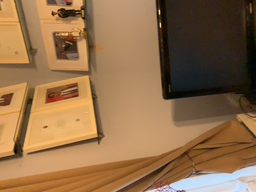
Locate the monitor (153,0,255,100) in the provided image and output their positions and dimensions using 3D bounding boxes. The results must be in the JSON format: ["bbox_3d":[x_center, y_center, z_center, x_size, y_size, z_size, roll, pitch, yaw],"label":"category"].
[{"bbox_3d":[0.440,-0.470,1.150,0.060,0.610,0.920,-172,76,-78],"label":"monitor"}]
